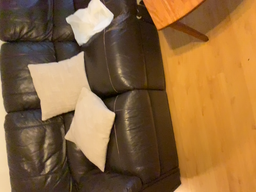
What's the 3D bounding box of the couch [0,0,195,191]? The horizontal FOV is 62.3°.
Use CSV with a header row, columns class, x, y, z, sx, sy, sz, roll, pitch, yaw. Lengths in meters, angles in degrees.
class,x,y,z,sx,sy,sz,roll,pitch,yaw
couch,-0.380,-0.210,1.630,1.050,0.920,1.990,-16,79,45
